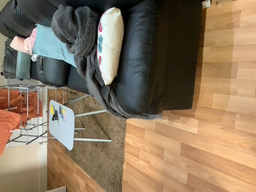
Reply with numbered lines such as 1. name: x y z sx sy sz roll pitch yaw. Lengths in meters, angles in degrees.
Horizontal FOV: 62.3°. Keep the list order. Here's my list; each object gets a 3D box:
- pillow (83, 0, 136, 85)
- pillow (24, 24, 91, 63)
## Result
1. pillow: -0.100 -0.260 1.090 0.170 0.160 0.380 -1 -75 -39
2. pillow: -0.650 -0.480 1.970 0.230 0.540 0.320 -30 -58 -63
